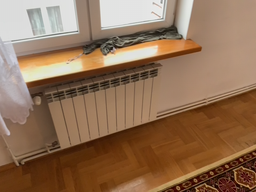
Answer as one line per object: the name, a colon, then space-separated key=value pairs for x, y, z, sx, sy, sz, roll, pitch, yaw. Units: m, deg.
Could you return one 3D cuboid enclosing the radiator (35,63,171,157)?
radiator: x=-0.160 y=0.110 z=1.780 sx=1.020 sy=0.590 sz=0.160 roll=-15 pitch=43 yaw=-19
